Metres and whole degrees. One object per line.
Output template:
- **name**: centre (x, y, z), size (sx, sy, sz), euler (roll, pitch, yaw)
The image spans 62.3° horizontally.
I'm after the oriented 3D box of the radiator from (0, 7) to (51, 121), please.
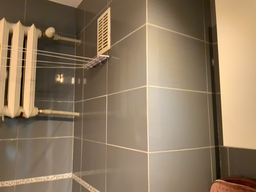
- **radiator**: centre (-0.660, -0.160, 1.270), size (0.310, 0.620, 0.210), euler (4, -8, -31)
